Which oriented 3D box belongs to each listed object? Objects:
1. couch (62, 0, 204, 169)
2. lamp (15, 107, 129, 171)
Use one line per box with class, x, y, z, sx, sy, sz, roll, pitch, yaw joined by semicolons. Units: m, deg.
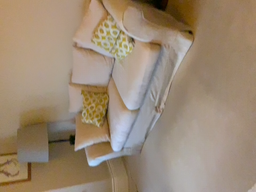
couch;-0.200;-0.180;2.530;1.020;0.850;2.000;-116;35;-40
lamp;-0.830;0.590;3.190;0.550;1.500;0.550;-118;36;-43
